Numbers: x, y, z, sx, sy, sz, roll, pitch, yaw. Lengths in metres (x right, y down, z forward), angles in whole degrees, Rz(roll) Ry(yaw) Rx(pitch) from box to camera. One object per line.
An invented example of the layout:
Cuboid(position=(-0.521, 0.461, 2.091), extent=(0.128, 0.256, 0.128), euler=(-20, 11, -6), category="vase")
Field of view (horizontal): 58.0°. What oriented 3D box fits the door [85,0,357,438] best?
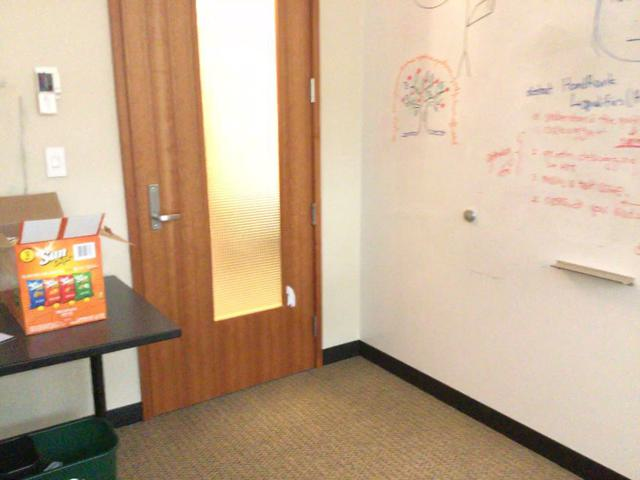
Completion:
Cuboid(position=(-0.380, -0.420, 2.660), extent=(1.190, 2.420, 0.230), euler=(-8, 14, -33), category="door")
